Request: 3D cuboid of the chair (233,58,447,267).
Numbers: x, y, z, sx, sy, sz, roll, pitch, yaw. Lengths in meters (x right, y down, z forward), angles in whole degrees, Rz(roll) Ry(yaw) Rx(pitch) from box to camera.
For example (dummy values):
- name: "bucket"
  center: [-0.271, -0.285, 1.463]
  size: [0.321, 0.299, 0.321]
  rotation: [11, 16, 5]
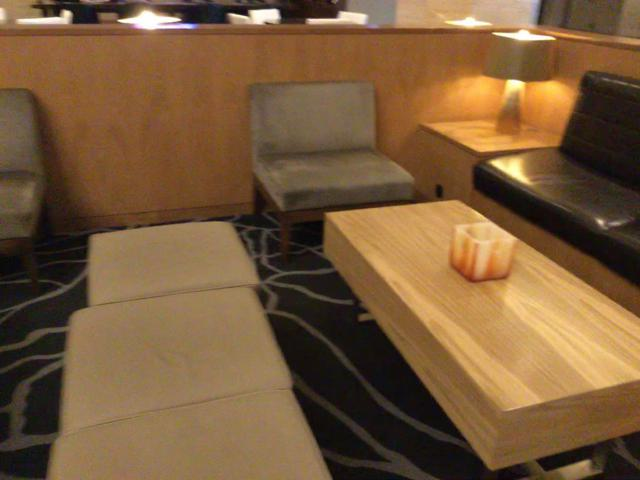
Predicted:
- name: "chair"
  center: [0.040, -0.460, 3.120]
  size: [0.850, 0.880, 0.800]
  rotation: [-4, 25, -19]

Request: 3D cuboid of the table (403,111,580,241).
- name: "table"
  center: [0.970, -0.410, 3.430]
  size: [0.640, 0.560, 0.700]
  rotation: [-4, 25, -19]

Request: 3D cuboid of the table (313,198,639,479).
- name: "table"
  center: [0.500, 0.310, 1.930]
  size: [0.650, 0.480, 1.260]
  rotation: [-4, 25, -19]

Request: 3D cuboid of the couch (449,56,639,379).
- name: "couch"
  center: [1.370, -0.120, 2.350]
  size: [0.650, 0.970, 1.870]
  rotation: [-4, 25, -19]
